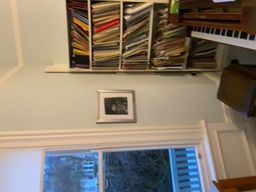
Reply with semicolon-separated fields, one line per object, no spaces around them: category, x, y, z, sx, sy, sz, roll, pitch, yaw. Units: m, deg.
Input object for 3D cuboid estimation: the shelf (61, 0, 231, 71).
shelf;0.220;-0.770;2.780;0.430;2.020;0.800;-114;25;-65
